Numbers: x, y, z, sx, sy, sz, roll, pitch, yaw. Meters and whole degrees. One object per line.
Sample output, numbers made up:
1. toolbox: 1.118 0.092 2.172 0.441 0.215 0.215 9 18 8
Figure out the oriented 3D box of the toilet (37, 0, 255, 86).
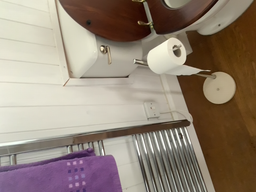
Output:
1. toilet: 0.140 -0.430 0.930 0.660 0.810 0.520 -31 67 44
